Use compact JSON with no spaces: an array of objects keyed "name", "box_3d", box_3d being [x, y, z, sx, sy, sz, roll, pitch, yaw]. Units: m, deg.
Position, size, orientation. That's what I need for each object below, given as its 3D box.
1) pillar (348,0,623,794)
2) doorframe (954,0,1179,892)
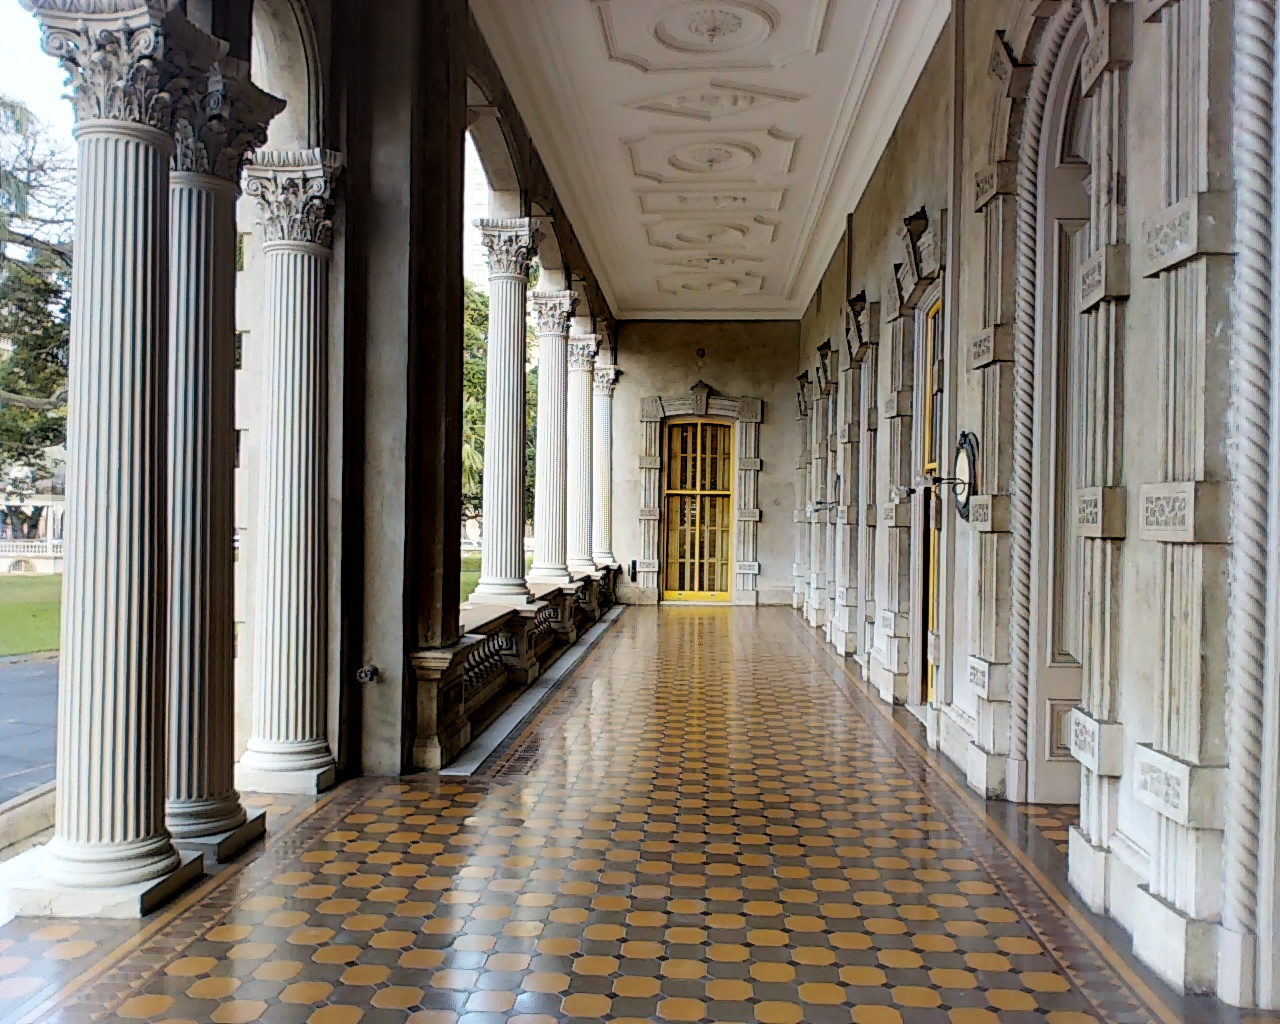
[{"name":"pillar","box_3d":[-1.020,-1.160,13.040,0.890,5.611,13.430,1,0,2]},{"name":"doorframe","box_3d":[2.030,-0.590,5.380,0.320,4.221,2.140,1,0,3]}]
